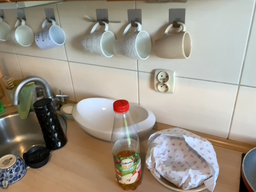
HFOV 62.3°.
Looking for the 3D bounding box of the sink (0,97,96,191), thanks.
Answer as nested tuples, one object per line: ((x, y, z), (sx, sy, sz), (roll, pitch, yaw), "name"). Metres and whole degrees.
((-0.480, 0.240, 0.940), (0.470, 0.190, 0.470), (12, 32, 25), "sink")
